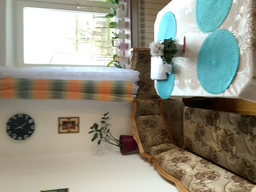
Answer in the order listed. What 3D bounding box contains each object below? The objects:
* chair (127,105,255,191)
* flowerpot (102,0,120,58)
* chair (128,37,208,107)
[{"bbox_3d":[0.640,0.400,2.050,1.810,0.830,0.580,176,94,-74],"label":"chair"},{"bbox_3d":[-0.250,-0.980,3.120,0.240,0.210,0.800,180,90,-74],"label":"flowerpot"},{"bbox_3d":[0.470,-0.260,2.660,0.580,0.800,0.750,176,94,-74],"label":"chair"}]
